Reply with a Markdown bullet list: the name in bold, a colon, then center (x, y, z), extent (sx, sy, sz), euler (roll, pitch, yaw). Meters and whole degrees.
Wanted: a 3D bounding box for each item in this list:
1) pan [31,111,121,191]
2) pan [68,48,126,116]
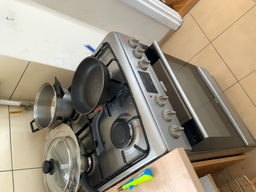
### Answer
- **pan**: center (-0.220, 0.250, 0.830), extent (0.290, 0.180, 0.250), euler (-45, 54, 32)
- **pan**: center (-0.130, -0.050, 0.830), extent (0.180, 0.100, 0.180), euler (-45, 54, 32)
